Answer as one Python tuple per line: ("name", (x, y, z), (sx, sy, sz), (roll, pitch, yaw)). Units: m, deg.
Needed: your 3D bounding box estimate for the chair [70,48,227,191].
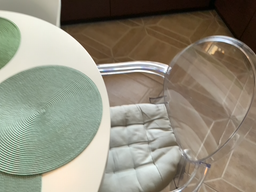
("chair", (0.010, 0.240, 0.950), (0.380, 0.800, 0.410), (-6, 57, -7))
